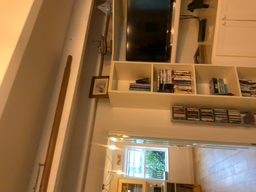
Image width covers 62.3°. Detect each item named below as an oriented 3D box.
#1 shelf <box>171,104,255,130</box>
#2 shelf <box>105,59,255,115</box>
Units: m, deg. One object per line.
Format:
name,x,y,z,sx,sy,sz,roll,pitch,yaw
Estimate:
shelf,1.150,0.250,2.390,0.180,1.300,0.180,87,-173,-64
shelf,0.800,-0.090,2.450,0.380,2.050,0.430,87,-173,-64
